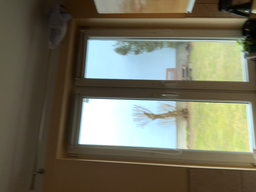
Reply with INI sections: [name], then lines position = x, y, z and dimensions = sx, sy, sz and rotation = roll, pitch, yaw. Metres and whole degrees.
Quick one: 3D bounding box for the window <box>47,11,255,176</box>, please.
[window]
position = 0.290, -0.070, 1.770
dimensions = 0.120, 1.780, 1.310
rotation = 73, -161, -79
